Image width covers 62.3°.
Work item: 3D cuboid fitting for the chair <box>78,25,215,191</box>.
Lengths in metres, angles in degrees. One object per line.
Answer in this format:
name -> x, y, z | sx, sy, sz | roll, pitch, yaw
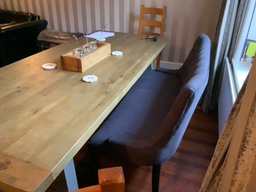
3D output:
chair -> 0.300, 0.010, 1.860 | 0.650, 0.920, 1.490 | 12, 30, 18
